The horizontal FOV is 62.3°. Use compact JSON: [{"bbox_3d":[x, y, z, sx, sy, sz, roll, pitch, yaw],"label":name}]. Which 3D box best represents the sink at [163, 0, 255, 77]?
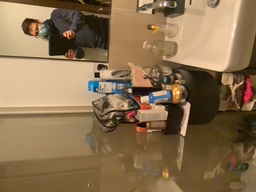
[{"bbox_3d":[0.360,-0.430,0.920,0.480,0.130,0.610,-141,54,-66],"label":"sink"}]
